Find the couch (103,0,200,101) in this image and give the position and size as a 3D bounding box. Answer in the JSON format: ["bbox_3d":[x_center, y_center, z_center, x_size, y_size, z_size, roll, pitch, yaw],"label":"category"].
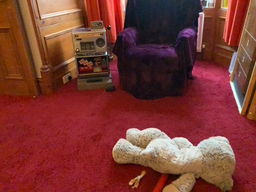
[{"bbox_3d":[0.320,-0.650,2.370,0.830,1.010,0.930,5,29,15],"label":"couch"}]
